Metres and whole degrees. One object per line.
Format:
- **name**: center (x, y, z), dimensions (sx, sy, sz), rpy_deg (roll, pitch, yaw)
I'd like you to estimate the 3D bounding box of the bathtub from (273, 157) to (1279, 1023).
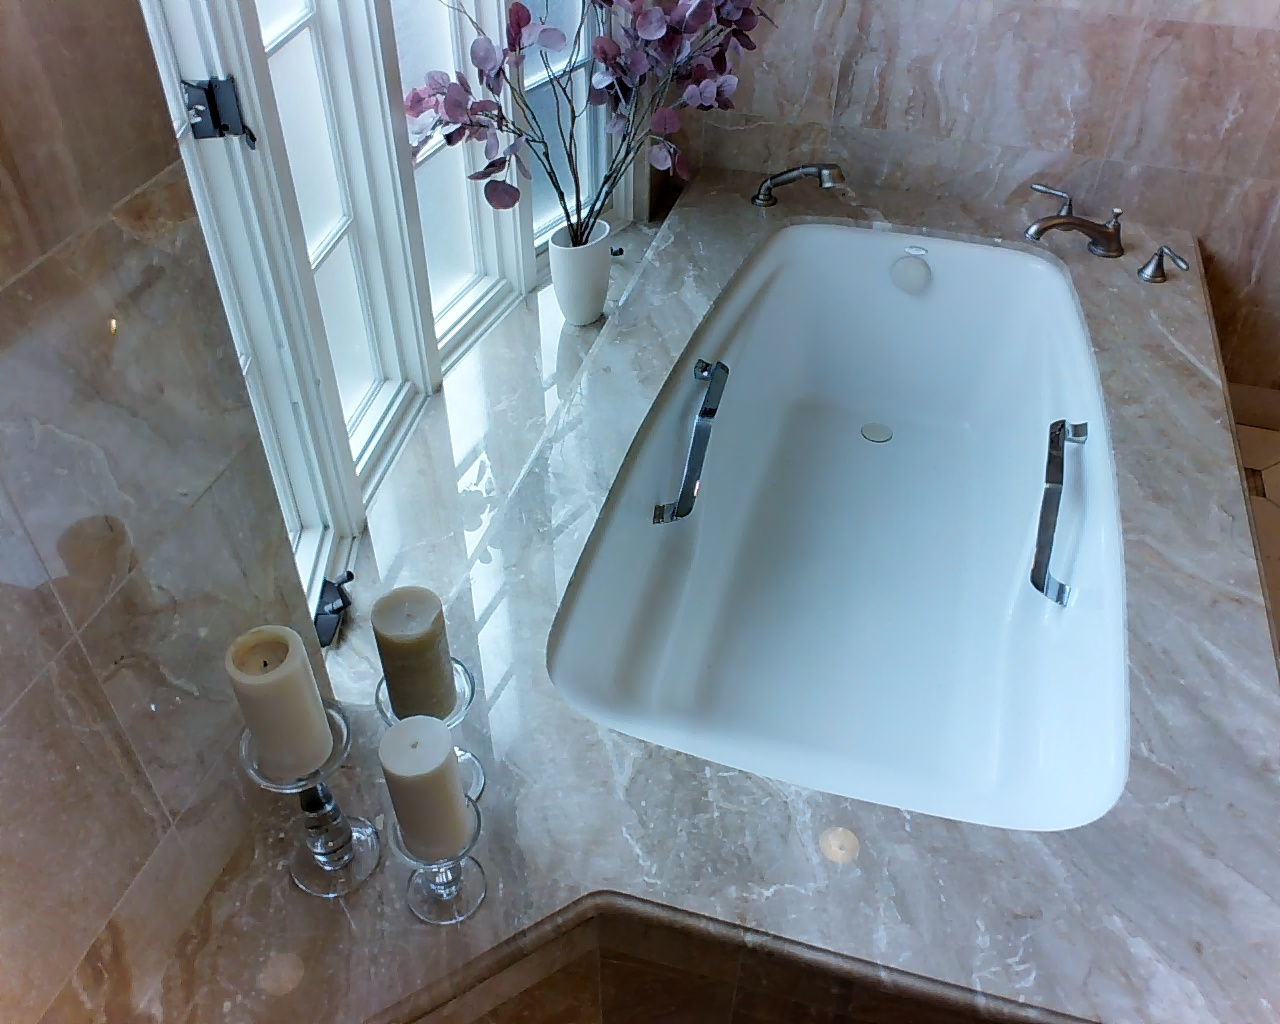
- **bathtub**: center (0.430, 0.060, 2.060), dimensions (1.270, 0.570, 1.910), rpy_deg (11, 43, 12)
